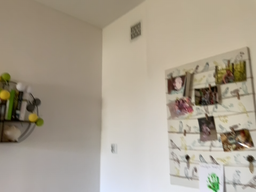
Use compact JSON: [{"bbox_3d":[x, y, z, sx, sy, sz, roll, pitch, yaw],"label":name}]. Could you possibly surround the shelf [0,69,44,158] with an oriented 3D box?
[{"bbox_3d":[-0.840,0.120,1.420,0.450,0.560,0.160,10,-15,-42],"label":"shelf"}]
